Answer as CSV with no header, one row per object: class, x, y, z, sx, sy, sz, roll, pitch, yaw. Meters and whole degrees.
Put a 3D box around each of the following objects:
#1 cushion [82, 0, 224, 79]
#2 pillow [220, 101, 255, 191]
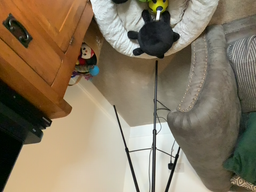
cushion,0.110,-0.490,1.140,0.630,0.200,0.810,12,143,-7
pillow,0.820,0.310,1.150,0.490,0.440,0.230,12,147,33
